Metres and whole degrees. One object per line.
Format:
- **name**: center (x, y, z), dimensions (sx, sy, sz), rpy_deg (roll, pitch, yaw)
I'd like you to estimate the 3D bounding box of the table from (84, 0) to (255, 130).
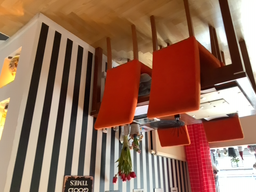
- **table**: center (0.390, -0.220, 2.120), dimensions (1.380, 0.780, 0.880), rpy_deg (-17, 153, 34)
